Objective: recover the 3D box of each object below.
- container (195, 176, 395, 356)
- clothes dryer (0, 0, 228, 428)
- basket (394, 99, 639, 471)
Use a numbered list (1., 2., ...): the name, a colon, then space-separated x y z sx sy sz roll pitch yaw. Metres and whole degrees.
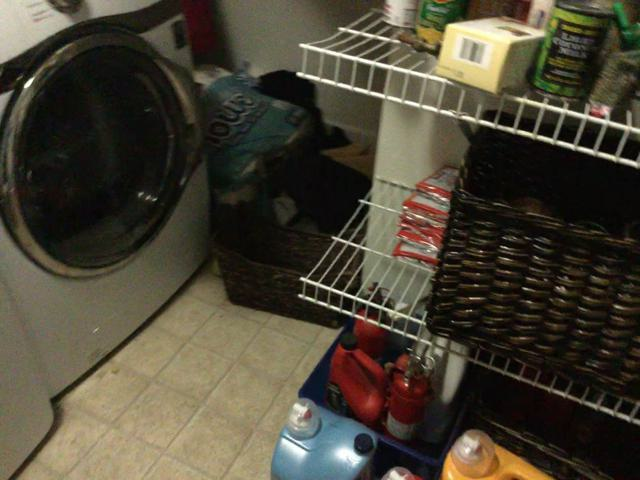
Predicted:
1. container: -0.070 0.060 1.700 0.470 0.260 0.320 18 40 17
2. clothes dryer: -0.730 -0.240 1.440 0.670 0.970 0.750 18 40 17
3. basket: 0.420 0.060 0.970 0.450 0.390 0.350 18 40 17
